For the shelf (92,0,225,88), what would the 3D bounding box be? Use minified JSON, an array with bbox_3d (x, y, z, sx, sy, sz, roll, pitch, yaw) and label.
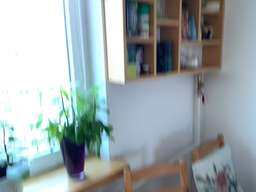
[{"bbox_3d":[0.260,-0.460,1.340,0.940,0.660,0.310,-13,16,-43],"label":"shelf"}]
